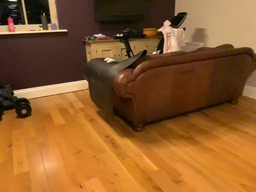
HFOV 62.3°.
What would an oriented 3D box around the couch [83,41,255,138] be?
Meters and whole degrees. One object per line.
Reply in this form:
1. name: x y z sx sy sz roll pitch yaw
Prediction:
1. couch: 0.620 -0.280 3.070 2.220 0.810 1.040 -12 22 -28
